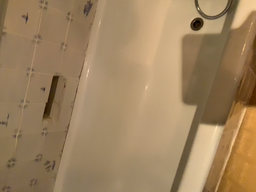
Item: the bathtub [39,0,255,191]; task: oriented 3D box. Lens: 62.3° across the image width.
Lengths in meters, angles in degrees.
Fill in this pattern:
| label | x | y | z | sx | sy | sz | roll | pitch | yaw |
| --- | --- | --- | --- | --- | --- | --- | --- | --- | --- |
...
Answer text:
| label | x | y | z | sx | sy | sz | roll | pitch | yaw |
| --- | --- | --- | --- | --- | --- | --- | --- | --- | --- |
| bathtub | 0.110 | 0.050 | 1.110 | 0.710 | 0.520 | 1.680 | 20 | 97 | 32 |
